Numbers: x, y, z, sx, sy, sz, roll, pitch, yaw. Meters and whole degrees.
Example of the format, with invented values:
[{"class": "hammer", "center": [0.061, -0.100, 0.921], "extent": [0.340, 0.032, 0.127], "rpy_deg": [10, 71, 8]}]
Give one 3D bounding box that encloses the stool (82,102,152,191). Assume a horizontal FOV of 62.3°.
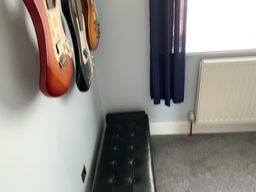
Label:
[{"class": "stool", "center": [-0.030, 0.520, 1.770], "extent": [0.420, 0.400, 1.190], "rpy_deg": [-2, 28, 4]}]
